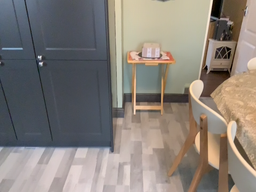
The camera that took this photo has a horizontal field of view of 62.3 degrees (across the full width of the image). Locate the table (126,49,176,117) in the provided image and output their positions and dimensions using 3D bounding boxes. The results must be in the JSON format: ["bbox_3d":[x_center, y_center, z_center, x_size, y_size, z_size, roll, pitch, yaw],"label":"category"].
[{"bbox_3d":[0.220,-0.150,2.380,0.480,0.660,0.390,1,27,-1],"label":"table"}]
